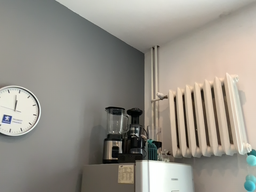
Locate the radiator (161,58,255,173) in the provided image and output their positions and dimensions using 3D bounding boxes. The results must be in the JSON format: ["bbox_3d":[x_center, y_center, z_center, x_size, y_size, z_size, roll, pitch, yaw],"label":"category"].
[{"bbox_3d":[0.580,0.180,1.620,0.600,0.760,0.180,-16,-24,39],"label":"radiator"}]
